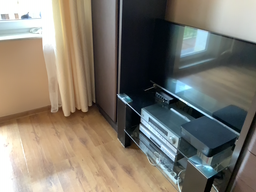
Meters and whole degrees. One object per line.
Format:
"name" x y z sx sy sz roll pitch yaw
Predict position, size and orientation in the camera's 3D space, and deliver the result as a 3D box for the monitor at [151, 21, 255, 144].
"monitor" 0.470 -0.150 1.480 0.040 0.570 0.870 -15 34 -29
